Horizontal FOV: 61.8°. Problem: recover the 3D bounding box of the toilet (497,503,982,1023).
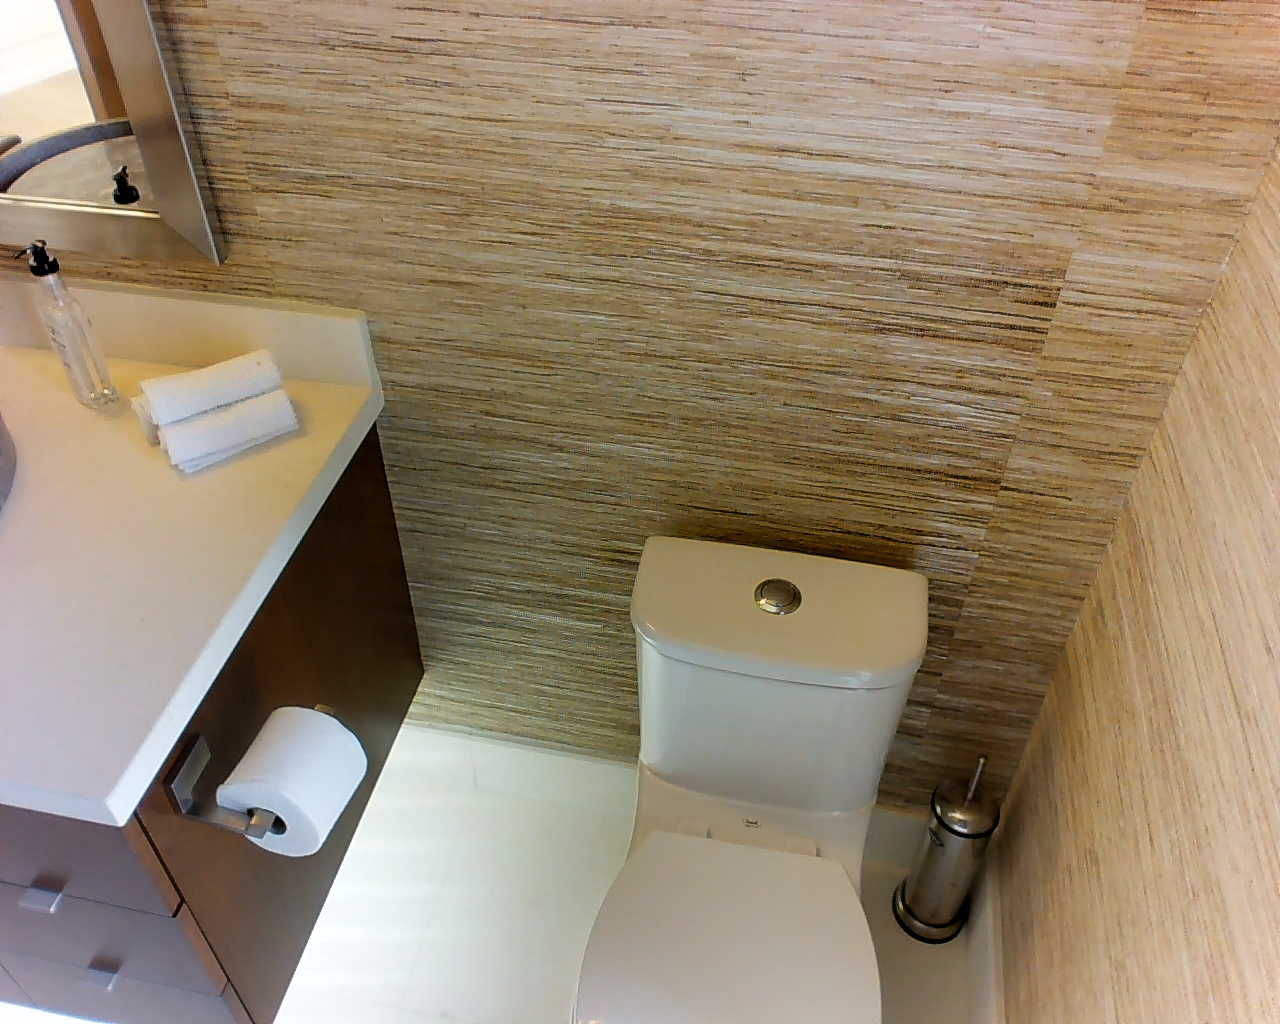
[{"bbox_3d":[0.140,0.550,1.390,0.420,0.740,0.790,8,42,8],"label":"toilet"}]
